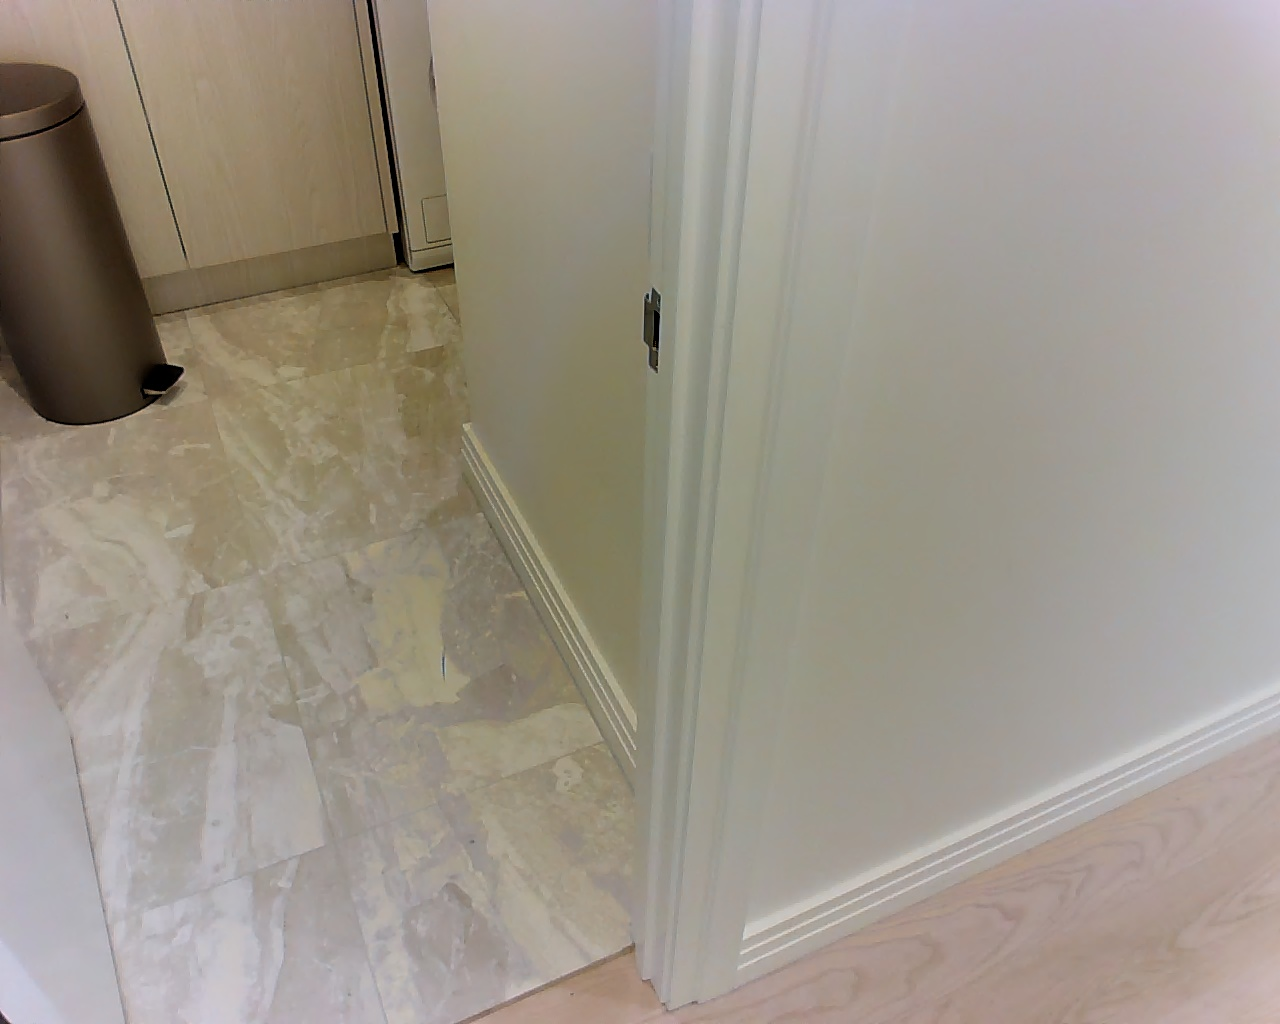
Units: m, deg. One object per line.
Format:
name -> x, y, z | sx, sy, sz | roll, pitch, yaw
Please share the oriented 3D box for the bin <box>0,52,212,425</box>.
bin -> -1.180, -0.530, 2.160 | 0.400, 0.660, 0.300 | 0, 42, -2
